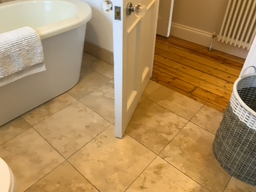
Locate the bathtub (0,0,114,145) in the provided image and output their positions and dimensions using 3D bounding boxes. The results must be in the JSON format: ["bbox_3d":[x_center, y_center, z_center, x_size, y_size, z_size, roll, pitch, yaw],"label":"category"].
[{"bbox_3d":[-1.010,-0.200,1.530,0.830,0.630,1.740,29,47,30],"label":"bathtub"}]
